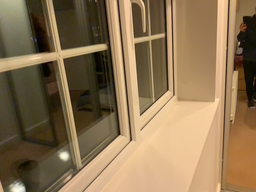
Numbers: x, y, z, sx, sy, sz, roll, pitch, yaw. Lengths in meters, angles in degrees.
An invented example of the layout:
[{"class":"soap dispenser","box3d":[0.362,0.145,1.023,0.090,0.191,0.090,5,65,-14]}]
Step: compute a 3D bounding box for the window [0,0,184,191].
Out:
[{"class":"window","box3d":[-0.150,-0.070,0.560,0.170,0.690,1.620,4,19,29]}]
